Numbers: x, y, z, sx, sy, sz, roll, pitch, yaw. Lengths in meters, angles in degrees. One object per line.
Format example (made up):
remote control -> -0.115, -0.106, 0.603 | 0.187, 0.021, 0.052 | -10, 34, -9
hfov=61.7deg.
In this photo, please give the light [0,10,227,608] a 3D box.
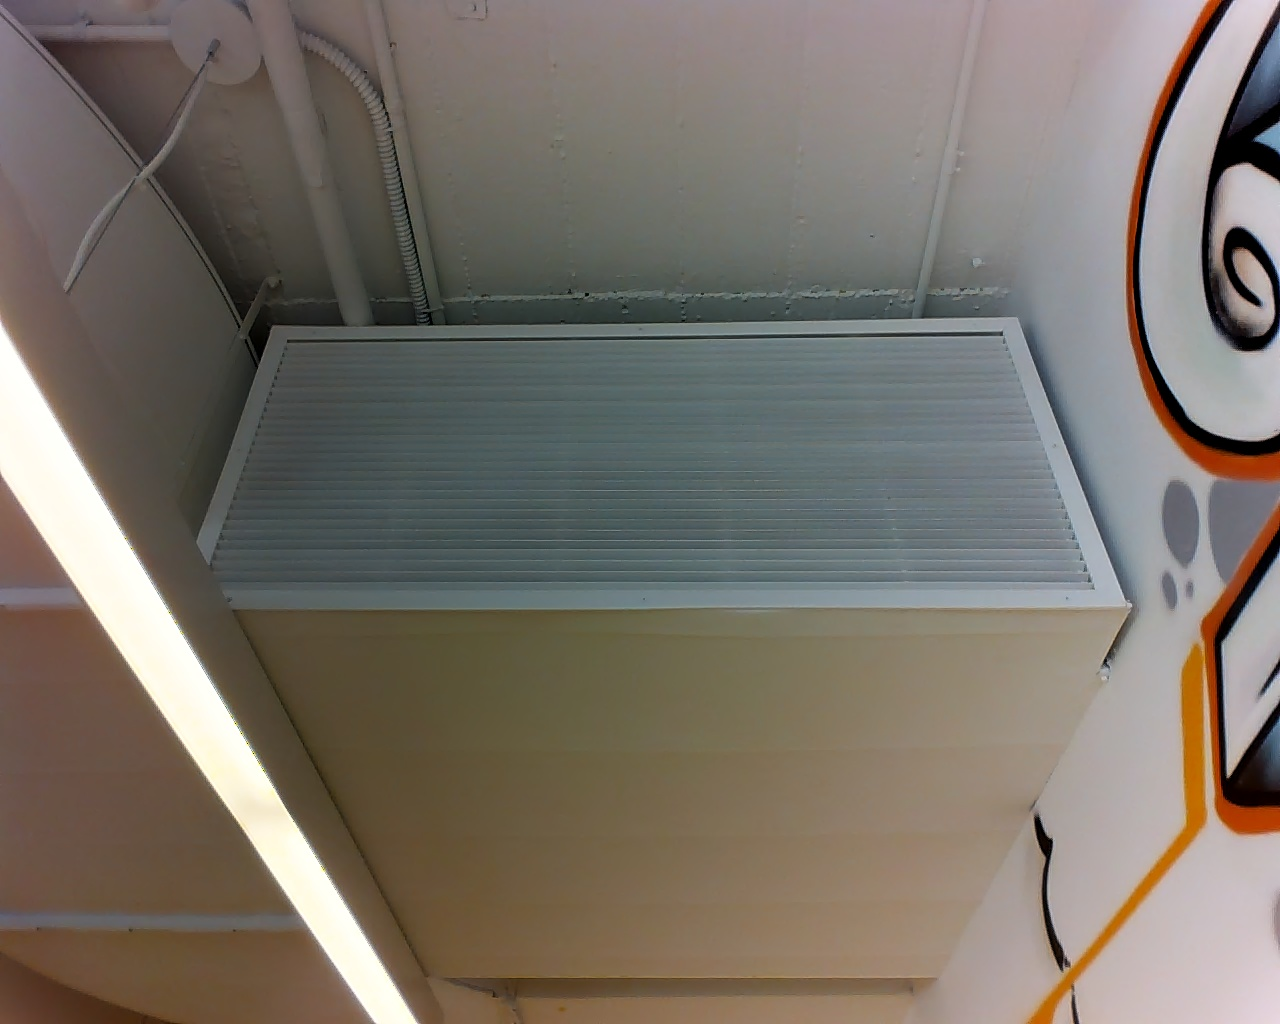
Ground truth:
light -> -0.600, -0.150, 1.060 | 0.160, 0.140, 0.620 | 0, -42, 1
